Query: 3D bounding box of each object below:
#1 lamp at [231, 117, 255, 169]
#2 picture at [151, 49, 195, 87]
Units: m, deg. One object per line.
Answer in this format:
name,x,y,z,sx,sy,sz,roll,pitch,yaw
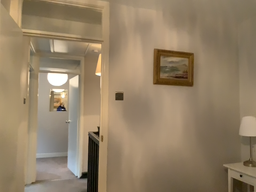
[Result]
lamp,1.340,0.500,2.350,0.240,0.520,0.240,1,-4,-17
picture,0.500,-0.300,2.320,0.520,0.380,0.050,2,-4,-19
